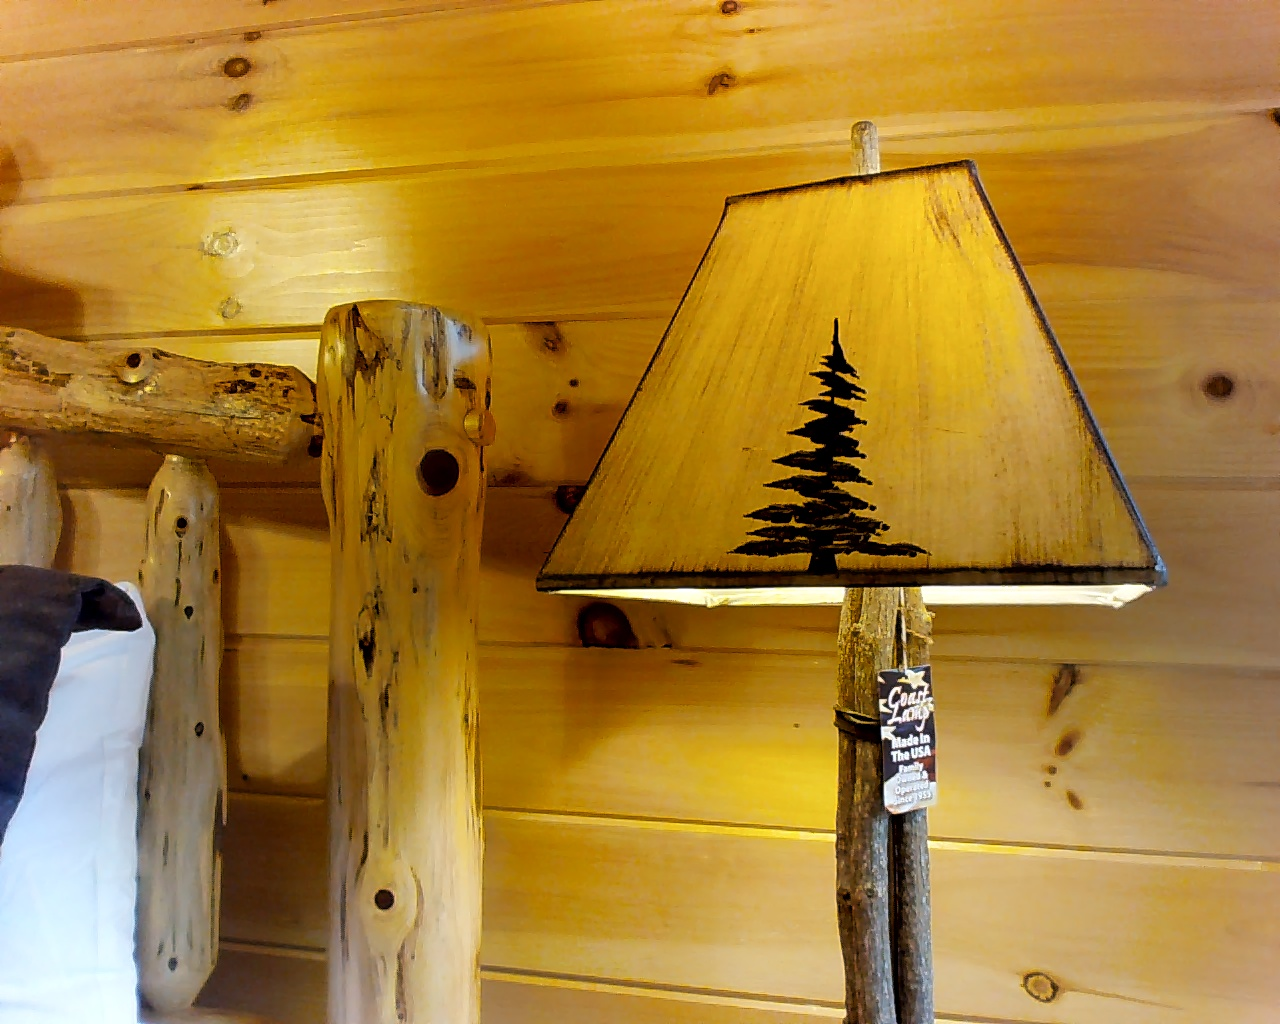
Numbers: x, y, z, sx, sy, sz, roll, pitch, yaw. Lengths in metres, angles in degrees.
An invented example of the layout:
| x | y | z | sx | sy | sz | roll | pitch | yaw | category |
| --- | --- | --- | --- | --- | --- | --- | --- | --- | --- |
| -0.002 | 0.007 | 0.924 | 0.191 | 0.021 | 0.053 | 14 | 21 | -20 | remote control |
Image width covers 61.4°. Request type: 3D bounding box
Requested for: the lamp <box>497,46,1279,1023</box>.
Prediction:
| x | y | z | sx | sy | sz | roll | pitch | yaw | category |
| --- | --- | --- | --- | --- | --- | --- | --- | --- | --- |
| 0.190 | 0.130 | 0.790 | 0.460 | 0.730 | 0.430 | 1 | 0 | 13 | lamp |
